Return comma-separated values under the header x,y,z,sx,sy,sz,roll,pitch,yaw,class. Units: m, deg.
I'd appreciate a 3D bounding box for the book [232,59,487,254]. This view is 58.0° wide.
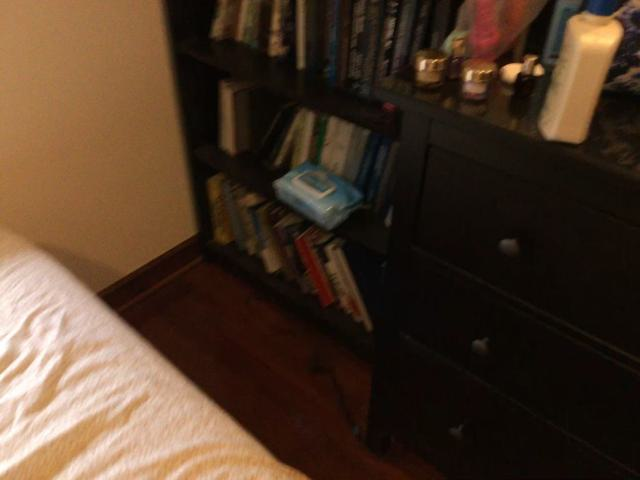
x,y,z,sx,sy,sz,roll,pitch,yaw,class
0.080,-0.240,1.490,0.590,0.250,0.250,27,44,29,book

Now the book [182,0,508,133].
x,y,z,sx,sy,sz,roll,pitch,yaw,class
0.020,-0.510,1.320,0.730,0.250,0.240,27,44,29,book

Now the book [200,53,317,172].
x,y,z,sx,sy,sz,roll,pitch,yaw,class
-0.170,-0.370,1.650,0.240,0.220,0.210,27,44,29,book

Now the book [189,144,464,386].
x,y,z,sx,sy,sz,roll,pitch,yaw,class
-0.010,0.040,1.730,0.770,0.360,0.270,27,44,29,book

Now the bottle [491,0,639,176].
x,y,z,sx,sy,sz,roll,pitch,yaw,class
0.340,-0.240,0.750,0.110,0.230,0.200,27,44,29,bottle

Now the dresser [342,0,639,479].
x,y,z,sx,sy,sz,roll,pitch,yaw,class
0.630,0.190,1.030,1.040,1.010,0.510,27,44,29,dresser
